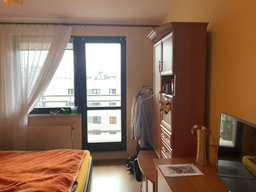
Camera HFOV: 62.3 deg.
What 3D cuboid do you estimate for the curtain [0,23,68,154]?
[{"bbox_3d":[-1.910,-0.100,3.620,1.640,2.170,0.180,0,5,-6],"label":"curtain"}]
